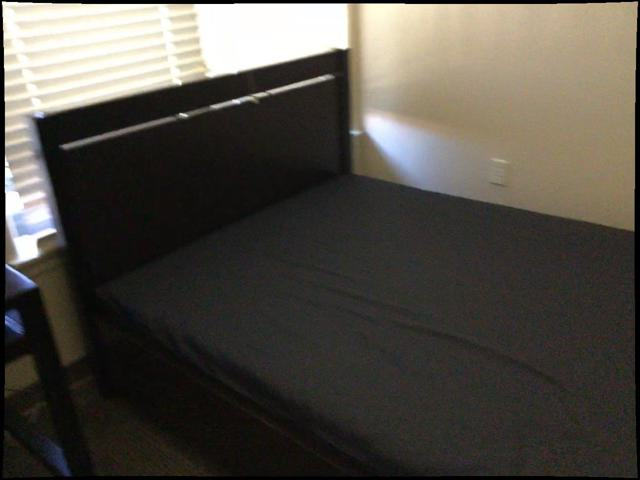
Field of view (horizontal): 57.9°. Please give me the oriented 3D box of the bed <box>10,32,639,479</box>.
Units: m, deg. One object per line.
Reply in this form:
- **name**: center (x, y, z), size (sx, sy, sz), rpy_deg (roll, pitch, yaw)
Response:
- **bed**: center (0.430, 0.070, 1.730), size (2.139, 1.001, 1.480), rpy_deg (19, 36, 37)
